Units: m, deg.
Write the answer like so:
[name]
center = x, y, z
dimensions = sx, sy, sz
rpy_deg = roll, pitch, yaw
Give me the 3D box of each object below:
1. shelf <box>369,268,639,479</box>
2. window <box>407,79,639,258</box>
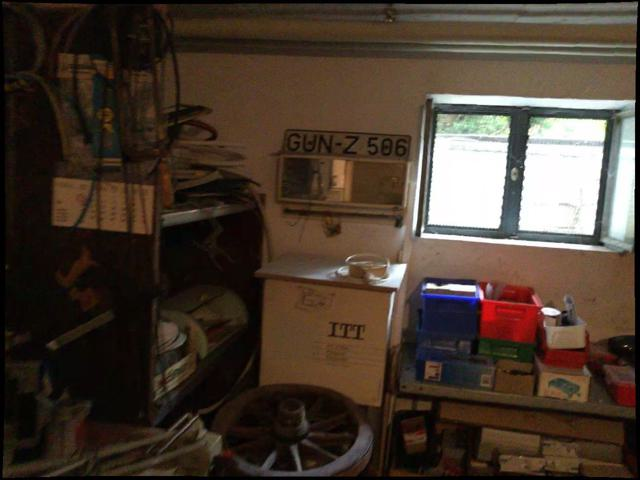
[shelf]
center = 0.819, 0.791, 2.010
dimensions = 1.259, 1.191, 0.730
rpy_deg = 3, 10, 4
[window]
center = 0.829, -0.290, 2.310
dimensions = 0.889, 0.601, 0.530
rpy_deg = 3, 10, 4
